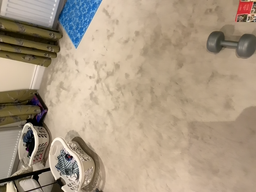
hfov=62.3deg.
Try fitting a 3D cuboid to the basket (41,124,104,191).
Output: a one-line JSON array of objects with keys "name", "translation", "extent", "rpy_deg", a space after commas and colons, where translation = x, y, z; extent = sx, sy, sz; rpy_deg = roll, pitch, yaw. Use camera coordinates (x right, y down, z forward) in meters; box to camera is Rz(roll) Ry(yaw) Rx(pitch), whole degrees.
[{"name": "basket", "translation": [-0.630, 0.740, 2.290], "extent": [0.660, 0.220, 0.580], "rpy_deg": [40, 115, 35]}]

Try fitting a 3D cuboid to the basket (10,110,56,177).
[{"name": "basket", "translation": [-1.350, 0.660, 2.970], "extent": [0.540, 0.240, 0.760], "rpy_deg": [52, 122, 30]}]
